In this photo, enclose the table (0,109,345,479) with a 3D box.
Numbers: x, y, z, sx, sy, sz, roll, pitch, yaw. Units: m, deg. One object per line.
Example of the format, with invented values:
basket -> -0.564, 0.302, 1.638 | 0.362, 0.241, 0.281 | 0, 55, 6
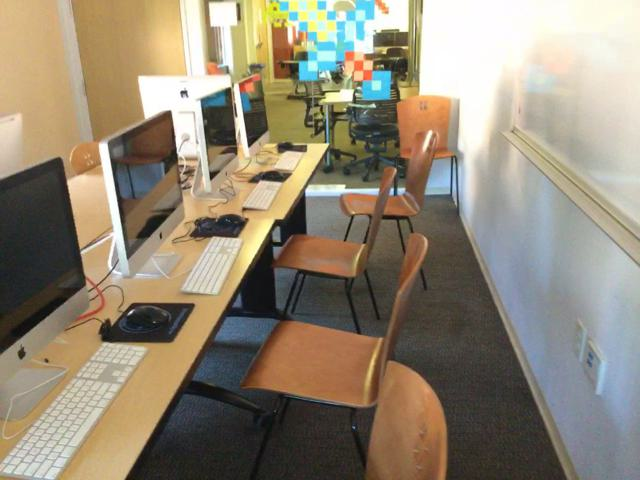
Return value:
table -> -0.770, 0.140, 1.560 | 1.390, 0.230, 4.340 | 1, 22, 6
